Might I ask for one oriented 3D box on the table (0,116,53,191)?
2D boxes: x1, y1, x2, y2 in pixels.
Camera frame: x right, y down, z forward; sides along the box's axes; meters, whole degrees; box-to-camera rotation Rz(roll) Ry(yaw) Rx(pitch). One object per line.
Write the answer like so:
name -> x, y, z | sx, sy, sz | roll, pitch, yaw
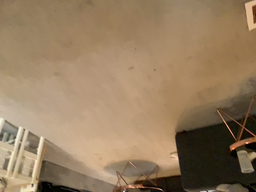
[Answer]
table -> -1.450, 0.680, 2.400 | 0.620, 0.560, 0.870 | -19, 143, 23
